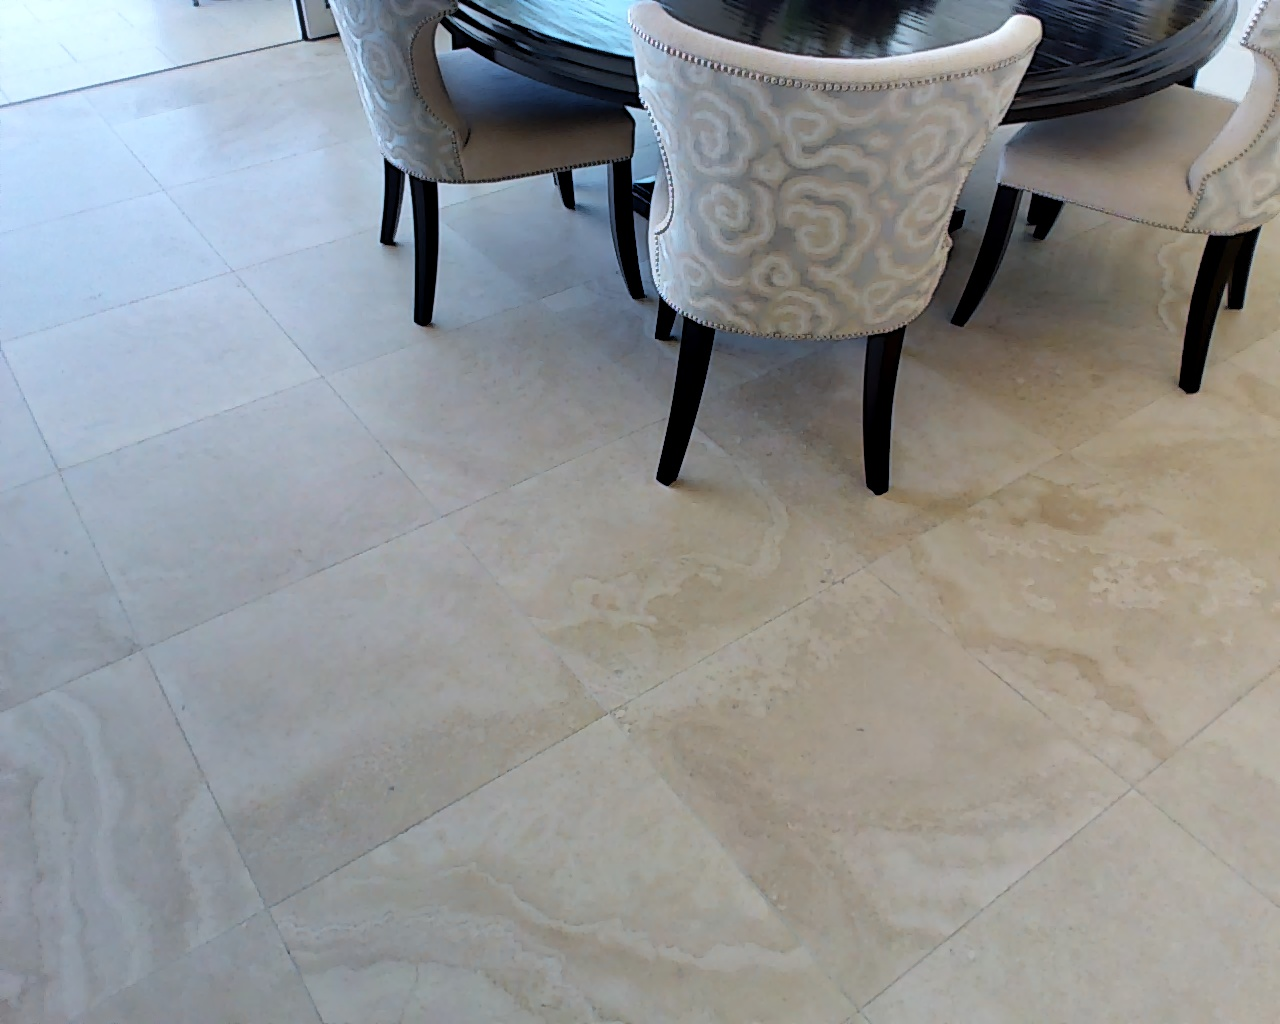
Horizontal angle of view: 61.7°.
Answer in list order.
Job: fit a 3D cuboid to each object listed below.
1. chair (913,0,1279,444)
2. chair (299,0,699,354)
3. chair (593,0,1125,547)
[{"bbox_3d":[1.250,-0.870,2.480,0.820,0.970,0.720,26,48,26],"label":"chair"},{"bbox_3d":[-0.370,-1.040,2.650,0.800,0.910,0.740,-13,43,-14],"label":"chair"},{"bbox_3d":[0.340,-0.580,2.150,0.750,0.950,0.830,3,42,3],"label":"chair"}]
